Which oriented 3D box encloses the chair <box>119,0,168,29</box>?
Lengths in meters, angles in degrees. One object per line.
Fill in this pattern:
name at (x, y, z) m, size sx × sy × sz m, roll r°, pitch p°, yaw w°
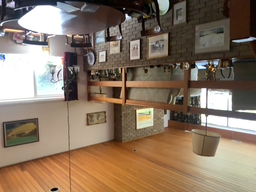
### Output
chair at (0.220, -1.430, 2.970) m, size 0.530 × 0.810 × 0.440 m, roll -4°, pitch -173°, yaw -38°
